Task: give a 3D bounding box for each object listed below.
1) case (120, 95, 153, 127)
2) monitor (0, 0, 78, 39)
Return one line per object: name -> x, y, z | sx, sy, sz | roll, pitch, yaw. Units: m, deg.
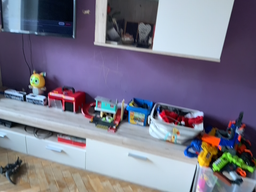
case -> 0.080, 0.130, 1.940 | 0.240, 0.180, 0.220 | 11, 23, 13
monitor -> -0.790, -0.760, 1.810 | 0.760, 0.430, 0.050 | 11, 19, 12
